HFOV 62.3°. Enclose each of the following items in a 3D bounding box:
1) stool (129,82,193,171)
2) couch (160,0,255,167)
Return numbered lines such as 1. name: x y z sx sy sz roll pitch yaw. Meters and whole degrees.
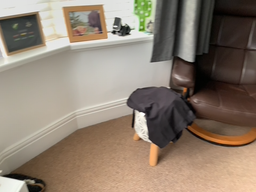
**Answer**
1. stool: 0.190 0.180 1.340 0.310 0.400 0.350 5 32 5
2. couch: 0.710 -0.220 1.490 0.770 0.980 0.870 9 33 11
